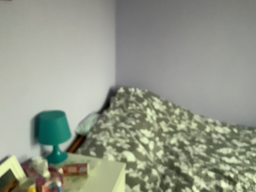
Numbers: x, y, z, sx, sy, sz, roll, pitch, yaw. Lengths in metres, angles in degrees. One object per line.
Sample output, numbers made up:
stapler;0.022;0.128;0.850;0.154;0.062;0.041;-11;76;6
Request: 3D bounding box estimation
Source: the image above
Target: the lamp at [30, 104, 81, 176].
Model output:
lamp;-0.430;0.260;1.300;0.200;0.360;0.180;8;20;16
